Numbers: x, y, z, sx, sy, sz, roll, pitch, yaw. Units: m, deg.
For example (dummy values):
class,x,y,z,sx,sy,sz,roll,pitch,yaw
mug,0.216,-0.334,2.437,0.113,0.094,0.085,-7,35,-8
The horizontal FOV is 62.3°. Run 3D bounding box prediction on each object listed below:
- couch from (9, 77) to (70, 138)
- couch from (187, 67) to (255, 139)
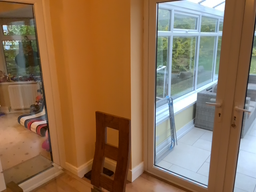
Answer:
class,x,y,z,sx,sy,sz,roll,pitch,yaw
couch,-1.650,0.150,3.950,0.670,0.790,0.980,-15,20,-40
couch,2.010,0.000,4.140,0.870,0.850,1.840,13,20,40
